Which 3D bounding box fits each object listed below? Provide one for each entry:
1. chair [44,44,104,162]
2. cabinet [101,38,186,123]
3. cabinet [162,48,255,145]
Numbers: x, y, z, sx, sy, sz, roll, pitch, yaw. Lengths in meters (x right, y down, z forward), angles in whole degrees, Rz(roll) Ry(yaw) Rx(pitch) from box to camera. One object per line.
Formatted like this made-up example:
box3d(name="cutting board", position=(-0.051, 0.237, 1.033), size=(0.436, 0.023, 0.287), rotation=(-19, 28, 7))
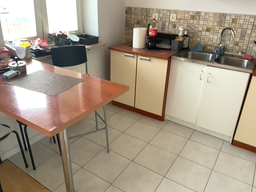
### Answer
box3d(name="chair", position=(-0.500, 0.050, 2.030), size=(0.370, 0.970, 0.470), rotation=(-13, 29, -30))
box3d(name="cabinet", position=(0.180, -0.260, 2.910), size=(0.940, 0.850, 0.570), rotation=(17, 29, 28))
box3d(name="cabinet", position=(0.920, -0.040, 2.520), size=(0.780, 0.850, 0.520), rotation=(17, 29, 28))
